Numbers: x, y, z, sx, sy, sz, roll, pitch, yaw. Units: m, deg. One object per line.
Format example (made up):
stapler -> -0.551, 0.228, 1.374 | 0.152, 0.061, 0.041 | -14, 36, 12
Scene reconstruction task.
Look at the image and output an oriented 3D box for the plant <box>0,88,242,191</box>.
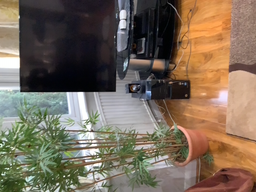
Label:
plant -> -0.130, 0.360, 1.490 | 0.650, 1.650, 0.530 | 62, 143, 43
